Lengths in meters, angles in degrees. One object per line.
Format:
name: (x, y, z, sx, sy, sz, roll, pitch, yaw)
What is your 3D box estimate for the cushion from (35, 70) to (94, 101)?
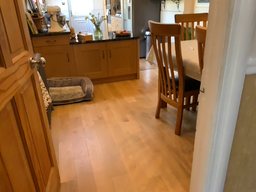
cushion: (-0.910, -0.170, 3.060, 0.730, 0.190, 0.540, -8, 25, -15)
